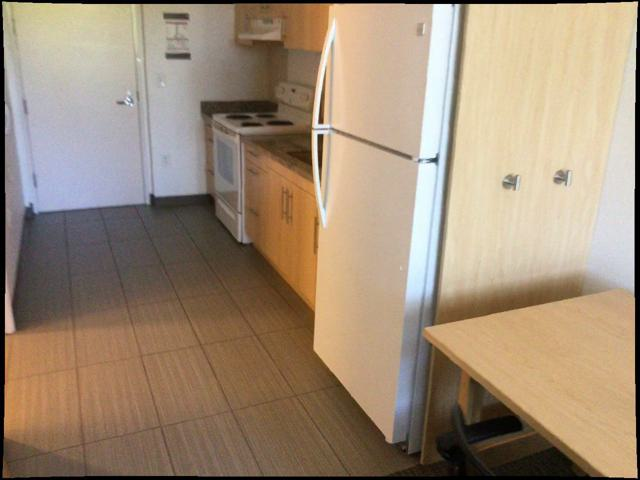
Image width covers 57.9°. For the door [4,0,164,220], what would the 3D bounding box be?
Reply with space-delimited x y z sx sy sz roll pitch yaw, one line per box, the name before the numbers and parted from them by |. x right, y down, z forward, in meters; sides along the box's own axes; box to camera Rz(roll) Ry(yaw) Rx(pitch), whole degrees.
door | -1.918 -1.381 4.750 1.029 2.362 0.270 -7 22 -22

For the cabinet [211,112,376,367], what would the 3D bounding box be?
cabinet | -0.350 -0.240 3.910 0.110 0.831 2.800 -7 22 -22

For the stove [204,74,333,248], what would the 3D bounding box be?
stove | -0.430 -0.681 4.580 0.709 1.141 0.970 -7 22 -22
